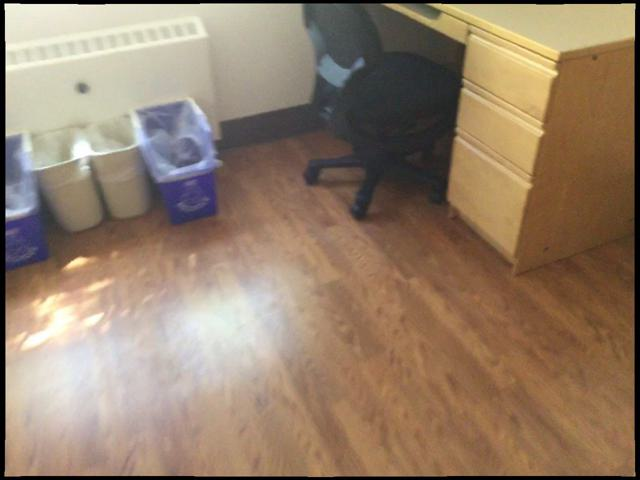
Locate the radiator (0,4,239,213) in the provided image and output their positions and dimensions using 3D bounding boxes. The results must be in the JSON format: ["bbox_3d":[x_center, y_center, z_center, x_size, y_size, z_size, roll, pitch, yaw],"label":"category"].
[{"bbox_3d":[-0.928,-0.531,2.330,1.108,0.581,0.250,-17,40,-18],"label":"radiator"}]

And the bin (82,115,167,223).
[{"bbox_3d":[-0.788,-0.291,2.330,0.220,0.300,0.270,-17,40,-18],"label":"bin"}]

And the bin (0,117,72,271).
[{"bbox_3d":[-1.178,-0.190,2.210,0.290,0.320,0.530,-17,40,-18],"label":"bin"}]

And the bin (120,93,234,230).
[{"bbox_3d":[-0.579,-0.331,2.330,0.300,0.330,0.430,-17,40,-18],"label":"bin"}]

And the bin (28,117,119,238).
[{"bbox_3d":[-0.968,-0.251,2.270,0.220,0.320,0.310,-17,40,-18],"label":"bin"}]
